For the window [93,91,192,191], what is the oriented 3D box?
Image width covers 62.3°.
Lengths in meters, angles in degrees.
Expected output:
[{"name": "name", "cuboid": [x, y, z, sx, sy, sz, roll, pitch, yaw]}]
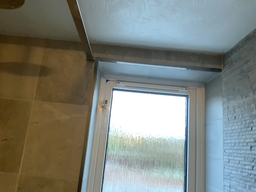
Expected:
[{"name": "window", "cuboid": [0.070, 0.440, 1.060, 0.470, 0.910, 0.060, 4, -14, 2]}]
